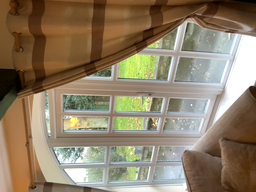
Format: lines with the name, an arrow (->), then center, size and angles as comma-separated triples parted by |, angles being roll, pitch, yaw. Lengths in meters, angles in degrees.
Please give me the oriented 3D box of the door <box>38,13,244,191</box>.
door -> 0.100, 0.310, 2.740 | 0.110, 2.250, 2.350 | -113, 27, -64
